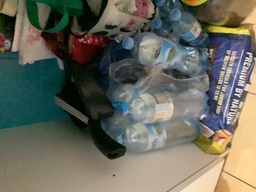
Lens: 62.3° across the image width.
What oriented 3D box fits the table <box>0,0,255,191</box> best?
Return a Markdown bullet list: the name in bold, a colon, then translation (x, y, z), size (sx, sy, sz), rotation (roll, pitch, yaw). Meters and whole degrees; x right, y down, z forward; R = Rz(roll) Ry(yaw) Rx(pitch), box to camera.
- **table**: translation (-0.010, -0.220, 0.470), size (0.500, 0.850, 0.780), rotation (24, 111, 41)
